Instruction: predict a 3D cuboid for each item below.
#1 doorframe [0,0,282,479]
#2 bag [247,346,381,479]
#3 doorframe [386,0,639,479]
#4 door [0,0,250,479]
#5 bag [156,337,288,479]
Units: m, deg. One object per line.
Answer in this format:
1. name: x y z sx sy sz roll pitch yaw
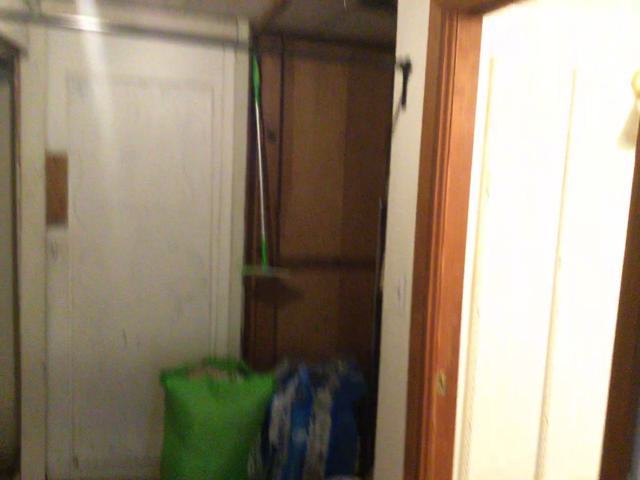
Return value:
1. doorframe: -0.800 0.110 2.500 1.110 2.080 0.390 1 7 -17
2. bag: -0.040 0.850 2.720 0.530 0.600 0.330 1 7 -17
3. doorframe: 0.460 0.390 1.250 0.220 1.980 0.970 1 7 -17
4. door: -0.810 0.120 2.410 0.890 1.980 0.430 1 7 -17
5. bag: -0.440 0.840 2.420 0.460 0.700 0.600 1 7 -16
